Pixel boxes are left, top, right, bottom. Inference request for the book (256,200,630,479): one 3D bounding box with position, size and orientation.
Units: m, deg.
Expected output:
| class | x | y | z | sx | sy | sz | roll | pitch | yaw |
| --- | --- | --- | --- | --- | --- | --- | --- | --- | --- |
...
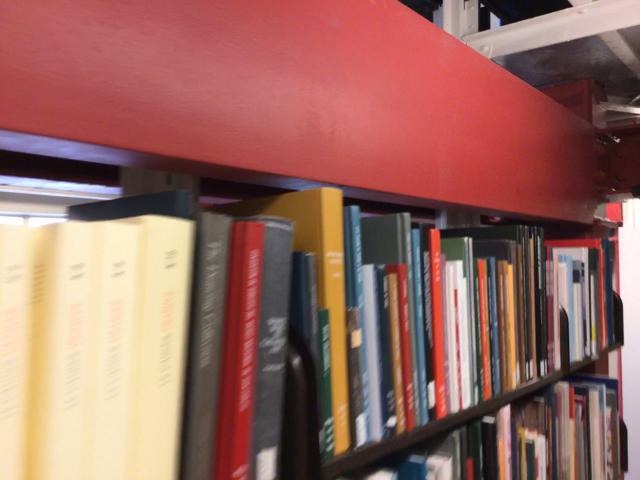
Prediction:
| class | x | y | z | sx | sy | sz | roll | pitch | yaw |
| --- | --- | --- | --- | --- | --- | --- | --- | --- | --- |
| book | 0.400 | 0.140 | 1.270 | 0.240 | 0.350 | 1.240 | 4 | 1 | 40 |
